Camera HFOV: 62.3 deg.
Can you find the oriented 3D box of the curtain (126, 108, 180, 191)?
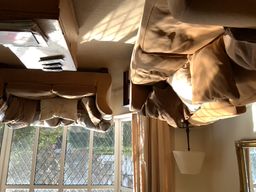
[{"bbox_3d":[0.340,1.120,3.020,0.700,1.810,0.290,-9,164,33],"label":"curtain"}]

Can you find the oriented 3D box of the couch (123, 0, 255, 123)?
[{"bbox_3d":[0.630,-0.320,1.760,1.160,0.840,2.000,2,166,-6],"label":"couch"}]

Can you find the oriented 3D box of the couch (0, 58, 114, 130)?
[{"bbox_3d":[-1.080,0.050,3.250,1.660,0.850,0.990,2,166,-6],"label":"couch"}]

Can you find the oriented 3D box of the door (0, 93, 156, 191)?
[{"bbox_3d":[-1.170,1.170,3.260,2.930,2.140,1.300,2,166,-7],"label":"door"}]
